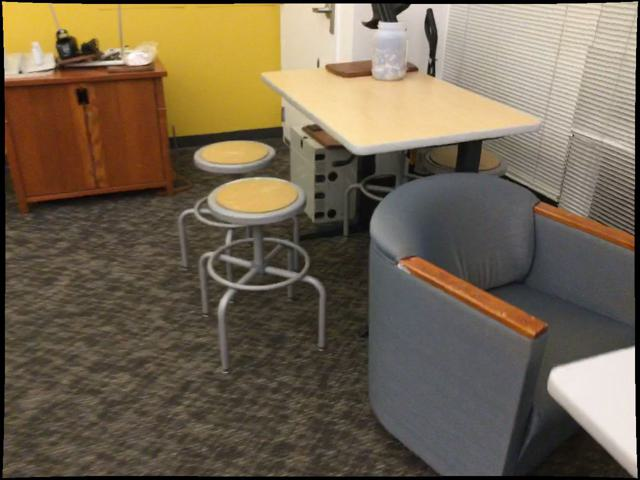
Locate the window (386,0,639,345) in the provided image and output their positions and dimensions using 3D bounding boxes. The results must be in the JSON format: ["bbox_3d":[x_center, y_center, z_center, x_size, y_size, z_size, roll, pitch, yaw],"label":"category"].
[{"bbox_3d":[1.019,-0.721,2.300,0.360,1.661,2.300,-10,30,-20],"label":"window"}]

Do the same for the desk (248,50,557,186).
[{"bbox_3d":[0.240,-0.581,2.420,0.759,0.170,1.230,-10,30,-20],"label":"desk"}]

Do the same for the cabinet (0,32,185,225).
[{"bbox_3d":[-1.409,-0.721,3.490,0.949,0.861,0.810,-10,30,-20],"label":"cabinet"}]
